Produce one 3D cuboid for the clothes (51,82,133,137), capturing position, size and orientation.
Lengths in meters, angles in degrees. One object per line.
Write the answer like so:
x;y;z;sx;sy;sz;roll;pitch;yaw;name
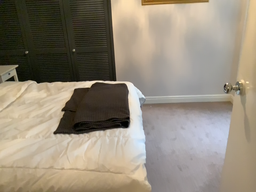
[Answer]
-0.240;0.060;1.770;0.520;0.050;0.880;-3;23;0;clothes
